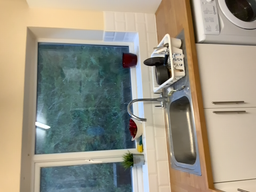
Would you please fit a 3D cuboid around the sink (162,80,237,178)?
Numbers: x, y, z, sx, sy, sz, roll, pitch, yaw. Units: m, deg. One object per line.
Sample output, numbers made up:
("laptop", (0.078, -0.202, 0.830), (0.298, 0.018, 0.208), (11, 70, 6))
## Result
("sink", (0.490, 0.250, 1.610), (0.520, 0.240, 0.610), (129, 138, -73))
